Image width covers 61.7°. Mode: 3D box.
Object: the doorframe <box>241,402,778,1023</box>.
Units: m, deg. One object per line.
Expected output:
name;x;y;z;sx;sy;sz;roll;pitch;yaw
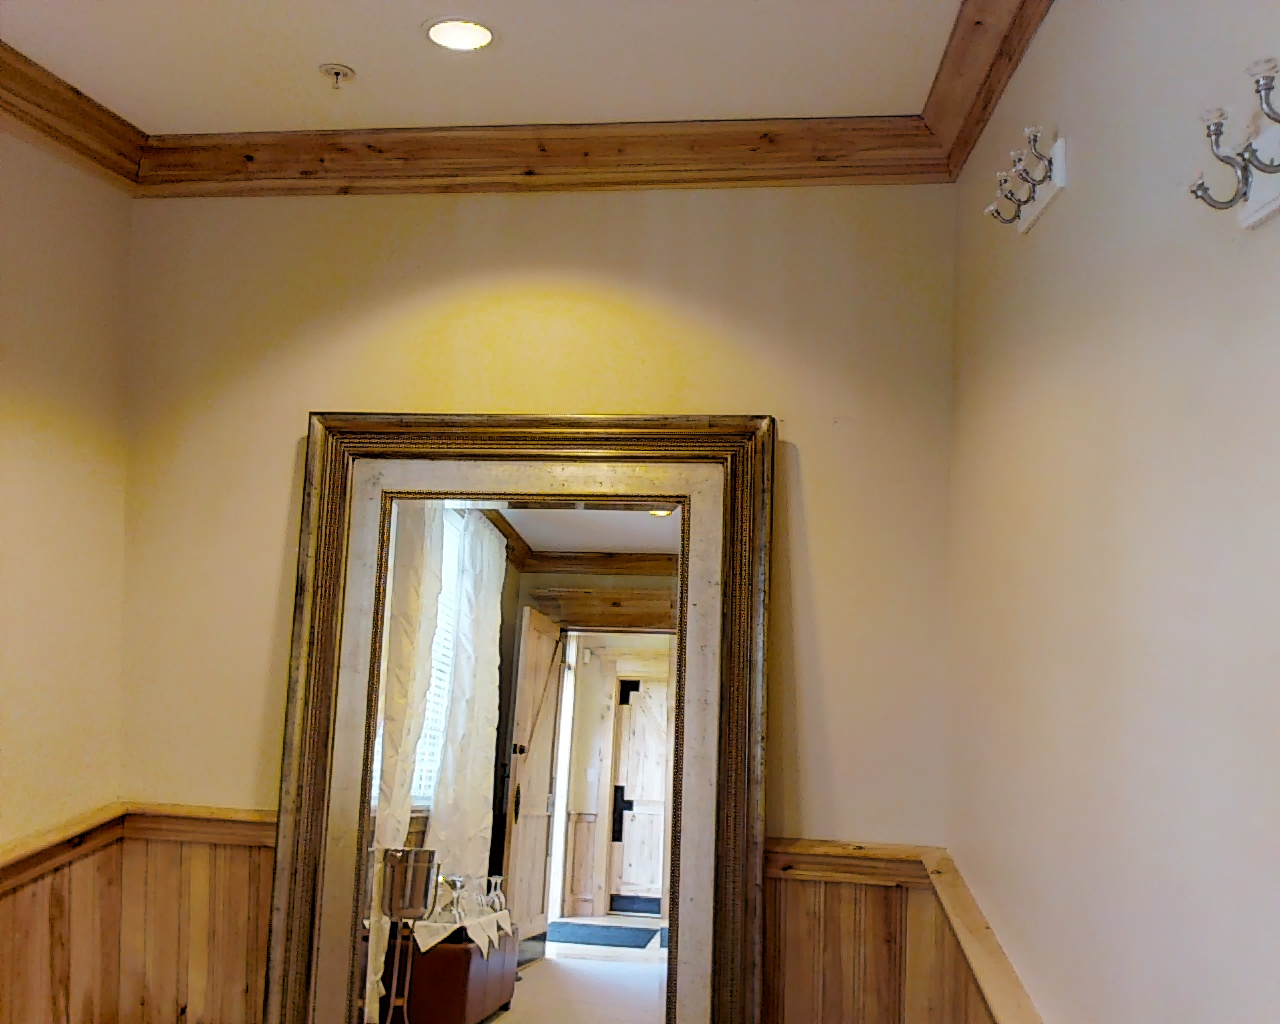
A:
doorframe;-0.300;0.720;2.610;1.230;1.940;0.320;1;-1;6
